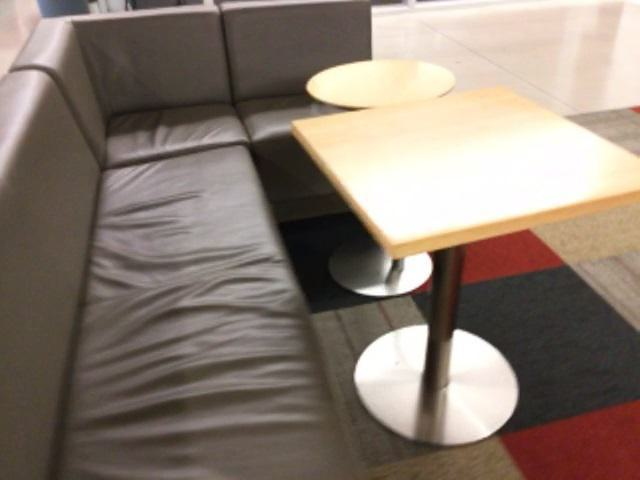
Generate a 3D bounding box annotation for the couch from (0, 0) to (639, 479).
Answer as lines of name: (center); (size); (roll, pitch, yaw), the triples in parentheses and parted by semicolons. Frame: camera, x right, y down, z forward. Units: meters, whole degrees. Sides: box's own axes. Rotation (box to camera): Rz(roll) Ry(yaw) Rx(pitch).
couch: (-0.210, -0.090, 1.730); (1.360, 0.810, 2.250); (-9, 33, -8)
